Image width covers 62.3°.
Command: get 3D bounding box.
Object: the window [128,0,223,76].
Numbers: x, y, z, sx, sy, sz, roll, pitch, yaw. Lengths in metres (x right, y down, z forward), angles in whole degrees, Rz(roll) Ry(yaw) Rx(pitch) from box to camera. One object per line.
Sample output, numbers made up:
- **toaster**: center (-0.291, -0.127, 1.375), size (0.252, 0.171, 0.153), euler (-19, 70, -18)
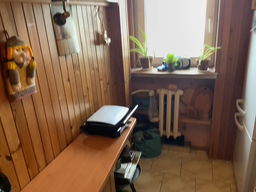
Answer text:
- **window**: center (0.450, -0.880, 2.110), size (0.900, 1.340, 0.120), euler (4, 21, 17)
